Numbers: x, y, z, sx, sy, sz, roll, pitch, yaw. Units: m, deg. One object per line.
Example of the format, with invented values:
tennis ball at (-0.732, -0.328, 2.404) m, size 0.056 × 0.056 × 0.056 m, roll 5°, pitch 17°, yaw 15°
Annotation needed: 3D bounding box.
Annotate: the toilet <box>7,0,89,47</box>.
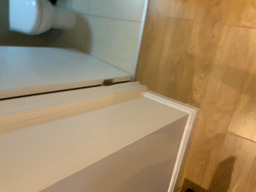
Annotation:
toilet at (-0.730, -0.710, 1.940) m, size 0.500 × 0.490 × 0.400 m, roll 22°, pitch 112°, yaw 32°
